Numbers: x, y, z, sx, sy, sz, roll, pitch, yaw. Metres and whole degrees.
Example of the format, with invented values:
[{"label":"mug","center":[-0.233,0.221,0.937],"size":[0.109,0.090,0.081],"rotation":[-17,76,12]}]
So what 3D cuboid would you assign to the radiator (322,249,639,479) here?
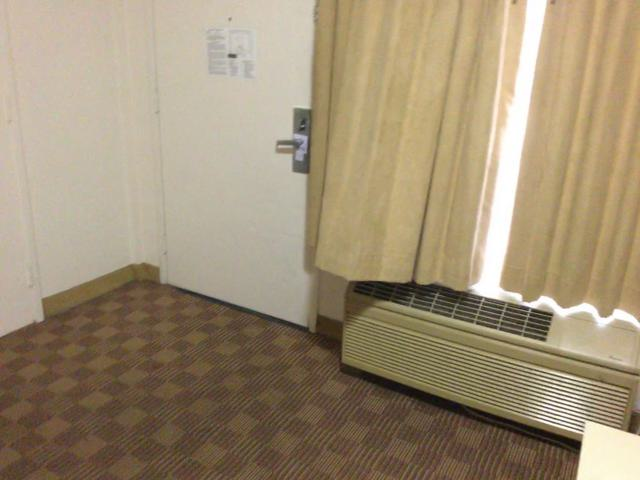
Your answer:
[{"label":"radiator","center":[0.560,0.410,2.140],"size":[1.120,0.510,0.200],"rotation":[12,20,26]}]
